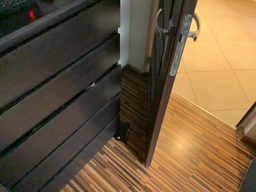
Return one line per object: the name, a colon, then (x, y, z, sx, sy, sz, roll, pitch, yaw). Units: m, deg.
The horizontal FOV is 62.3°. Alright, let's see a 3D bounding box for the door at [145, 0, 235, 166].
door: (0.220, -0.460, 0.920, 0.110, 1.790, 0.880, 4, 52, 1)
